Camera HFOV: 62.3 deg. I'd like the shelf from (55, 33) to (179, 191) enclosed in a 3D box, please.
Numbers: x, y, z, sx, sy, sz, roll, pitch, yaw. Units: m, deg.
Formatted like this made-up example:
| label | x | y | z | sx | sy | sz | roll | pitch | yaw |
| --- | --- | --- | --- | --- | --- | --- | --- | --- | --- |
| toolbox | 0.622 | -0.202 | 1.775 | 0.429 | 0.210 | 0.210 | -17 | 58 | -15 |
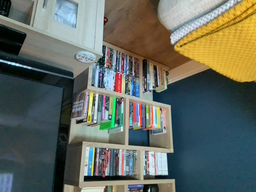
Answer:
| label | x | y | z | sx | sy | sz | roll | pitch | yaw |
| --- | --- | --- | --- | --- | --- | --- | --- | --- | --- |
| shelf | -0.040 | 0.500 | 1.820 | 0.980 | 1.810 | 0.360 | 14 | 157 | -35 |
